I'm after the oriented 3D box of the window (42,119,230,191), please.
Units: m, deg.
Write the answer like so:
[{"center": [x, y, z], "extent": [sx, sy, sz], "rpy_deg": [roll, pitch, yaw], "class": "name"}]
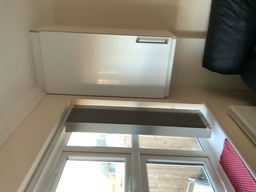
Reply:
[{"center": [0.070, 0.690, 1.450], "extent": [1.680, 1.280, 0.080], "rpy_deg": [-89, 2, -63], "class": "window"}]
